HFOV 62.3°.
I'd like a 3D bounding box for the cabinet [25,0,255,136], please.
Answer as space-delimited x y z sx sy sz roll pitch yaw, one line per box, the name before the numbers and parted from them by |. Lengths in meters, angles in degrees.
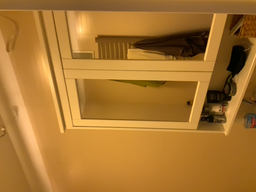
cabinet | 0.100 -0.170 1.080 0.170 1.030 0.830 -87 -1 -55
